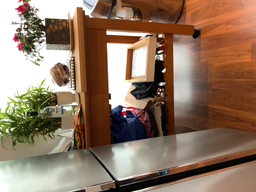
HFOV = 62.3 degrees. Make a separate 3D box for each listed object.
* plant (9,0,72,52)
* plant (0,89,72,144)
[{"bbox_3d":[-0.540,-0.450,1.330,0.250,0.320,0.300,-174,81,-67],"label":"plant"},{"bbox_3d":[-0.660,0.120,1.470,0.240,0.490,0.310,-169,77,-67],"label":"plant"}]
